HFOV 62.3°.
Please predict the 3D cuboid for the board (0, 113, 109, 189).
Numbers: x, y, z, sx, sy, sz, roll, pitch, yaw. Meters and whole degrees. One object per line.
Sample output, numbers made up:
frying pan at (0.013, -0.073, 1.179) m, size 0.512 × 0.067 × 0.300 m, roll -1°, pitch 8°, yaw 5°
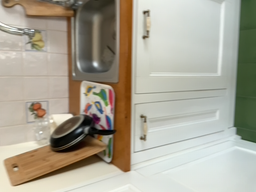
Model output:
board at (-0.390, 0.200, 0.980) m, size 0.480 × 0.410 × 0.110 m, roll 13°, pitch 104°, yaw 53°
